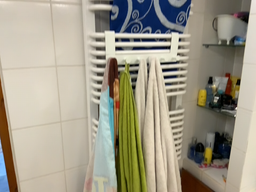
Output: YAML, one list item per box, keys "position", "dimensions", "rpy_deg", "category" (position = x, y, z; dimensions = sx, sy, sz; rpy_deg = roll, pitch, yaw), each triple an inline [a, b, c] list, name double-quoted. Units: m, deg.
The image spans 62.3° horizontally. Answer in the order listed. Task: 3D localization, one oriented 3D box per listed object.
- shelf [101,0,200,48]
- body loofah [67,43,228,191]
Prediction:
- position: [0.100, -0.420, 0.910]
  dimensions: [0.400, 0.410, 0.160]
  rpy_deg: [-6, 17, -24]
  category: "shelf"
- position: [0.080, 0.360, 1.080]
  dimensions: [0.640, 1.210, 0.280]
  rpy_deg: [-6, 17, -24]
  category: "body loofah"
